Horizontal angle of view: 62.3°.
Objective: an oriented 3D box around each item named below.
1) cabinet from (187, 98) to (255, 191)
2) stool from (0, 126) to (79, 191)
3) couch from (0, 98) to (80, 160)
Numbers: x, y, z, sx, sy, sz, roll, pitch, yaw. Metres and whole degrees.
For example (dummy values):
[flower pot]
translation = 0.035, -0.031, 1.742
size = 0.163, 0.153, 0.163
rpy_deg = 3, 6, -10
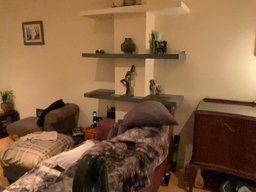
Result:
[cabinet]
translation = 1.390, 0.590, 2.080
size = 1.450, 0.920, 0.590
rpy_deg = 5, 13, 24
[stool]
translation = -1.080, 0.740, 2.560
size = 0.660, 0.470, 0.660
rpy_deg = 4, 13, 21
[couch]
translation = -1.370, 0.460, 3.350
size = 1.030, 0.690, 0.560
rpy_deg = 5, 13, 24
